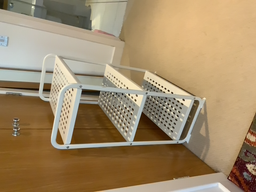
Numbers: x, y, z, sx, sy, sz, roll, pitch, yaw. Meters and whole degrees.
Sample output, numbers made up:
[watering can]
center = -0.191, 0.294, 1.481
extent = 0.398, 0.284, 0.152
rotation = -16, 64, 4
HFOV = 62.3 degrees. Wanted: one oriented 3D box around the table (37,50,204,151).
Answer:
[table]
center = -0.080, 0.010, 1.410
extent = 0.620, 0.870, 0.360
rotation = 38, 118, 55
